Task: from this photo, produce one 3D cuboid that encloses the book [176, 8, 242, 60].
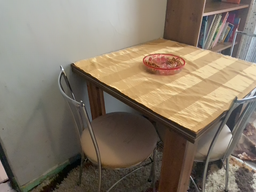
[{"bbox_3d":[0.700,-0.550,1.800,0.670,0.290,0.160,-25,40,-35],"label":"book"}]
